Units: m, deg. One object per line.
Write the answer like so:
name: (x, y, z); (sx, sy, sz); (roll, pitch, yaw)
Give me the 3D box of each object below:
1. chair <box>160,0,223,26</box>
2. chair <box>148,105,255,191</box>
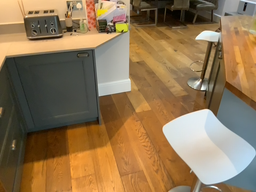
chair: (1.660, -2.720, 5.890); (0.670, 0.920, 2.070); (-9, 35, -15)
chair: (0.420, 0.490, 1.300); (0.400, 0.680, 0.390); (-17, 38, -25)
